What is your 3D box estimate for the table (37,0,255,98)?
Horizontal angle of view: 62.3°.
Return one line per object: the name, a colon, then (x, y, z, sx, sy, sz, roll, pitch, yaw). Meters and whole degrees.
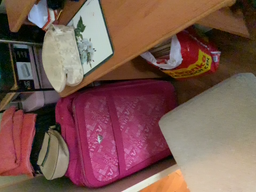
table: (0.180, -0.380, 0.900, 0.840, 0.760, 0.530, -21, 79, 45)
